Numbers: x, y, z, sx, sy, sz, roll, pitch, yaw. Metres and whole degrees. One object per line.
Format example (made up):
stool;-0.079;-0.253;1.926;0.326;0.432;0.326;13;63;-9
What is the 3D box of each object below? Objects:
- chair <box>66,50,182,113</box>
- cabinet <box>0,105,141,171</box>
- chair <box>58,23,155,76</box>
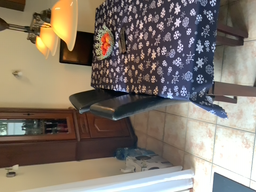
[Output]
chair;-0.020;-0.100;2.170;0.430;1.090;0.500;3;90;60
cabinet;-0.870;0.470;2.710;0.640;1.980;0.580;13;98;60
chair;-0.270;-0.550;2.640;0.530;1.040;0.430;25;109;58
